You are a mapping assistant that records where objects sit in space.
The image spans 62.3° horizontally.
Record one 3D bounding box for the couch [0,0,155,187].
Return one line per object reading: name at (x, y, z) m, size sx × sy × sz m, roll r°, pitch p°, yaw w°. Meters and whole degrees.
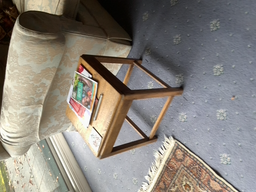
couch at (-0.950, -0.520, 1.730) m, size 1.930 × 0.880 × 1.230 m, roll 49°, pitch 127°, yaw 31°
